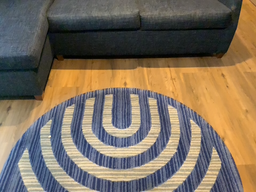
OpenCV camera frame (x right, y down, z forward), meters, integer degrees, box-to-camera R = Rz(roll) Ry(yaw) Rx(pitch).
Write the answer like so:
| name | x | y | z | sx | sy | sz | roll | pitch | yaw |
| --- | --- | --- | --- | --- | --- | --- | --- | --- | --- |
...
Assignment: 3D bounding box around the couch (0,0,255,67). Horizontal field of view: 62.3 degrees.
| name | x | y | z | sx | sy | sz | roll | pitch | yaw |
| --- | --- | --- | --- | --- | --- | --- | --- | --- | --- |
| couch | -0.350 | -0.960 | 2.030 | 2.580 | 0.890 | 1.040 | -1 | 47 | -5 |
